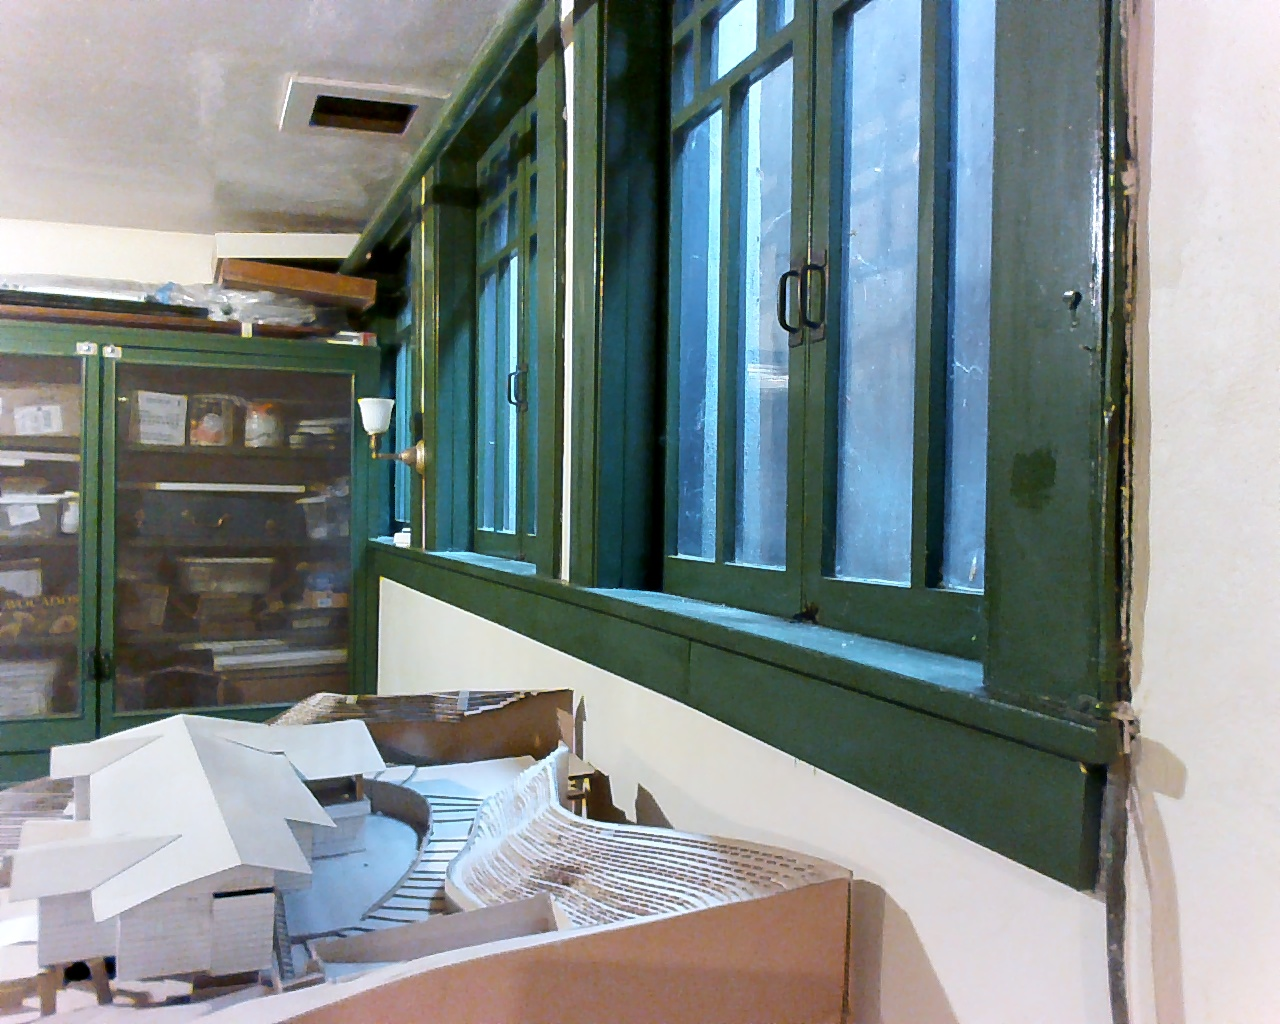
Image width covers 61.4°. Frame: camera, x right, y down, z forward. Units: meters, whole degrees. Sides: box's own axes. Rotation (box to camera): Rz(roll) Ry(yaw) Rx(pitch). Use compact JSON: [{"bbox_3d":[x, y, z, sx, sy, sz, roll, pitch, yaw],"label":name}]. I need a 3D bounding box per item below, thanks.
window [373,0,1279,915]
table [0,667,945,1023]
[{"bbox_3d":[-0.270,-0.440,2.780,0.150,1.450,4.400,1,0,-22],"label":"window"},{"bbox_3d":[-0.510,0.920,1.520,1.200,1.160,1.380,1,0,-22],"label":"table"}]
